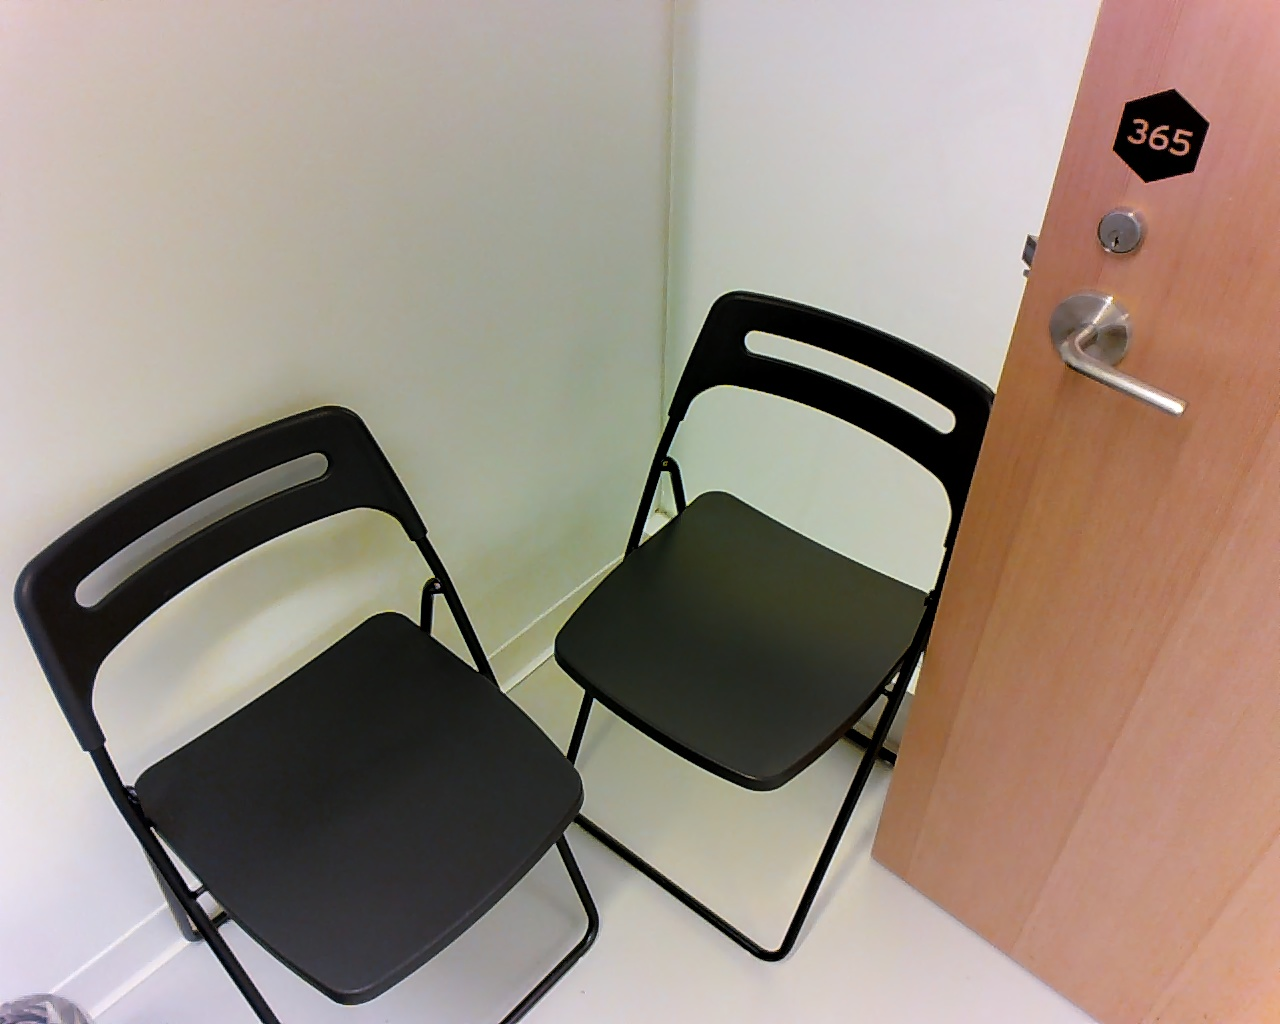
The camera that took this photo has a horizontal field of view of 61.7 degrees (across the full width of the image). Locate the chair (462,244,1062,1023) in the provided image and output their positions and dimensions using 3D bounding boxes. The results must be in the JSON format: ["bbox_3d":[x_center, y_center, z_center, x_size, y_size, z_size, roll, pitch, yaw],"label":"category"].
[{"bbox_3d":[0.160,0.170,1.450,0.460,0.790,0.560,22,46,23],"label":"chair"}]

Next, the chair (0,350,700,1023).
[{"bbox_3d":[-0.300,0.340,1.270,0.520,0.790,0.500,27,48,27],"label":"chair"}]

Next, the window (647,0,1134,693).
[{"bbox_3d":[0.250,-0.400,1.360,0.560,1.440,0.090,31,50,30],"label":"window"}]
